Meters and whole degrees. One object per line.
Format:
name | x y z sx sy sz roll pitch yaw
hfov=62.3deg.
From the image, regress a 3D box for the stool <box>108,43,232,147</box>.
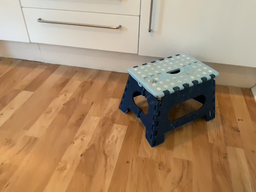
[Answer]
stool | 0.160 -0.030 0.900 0.400 0.230 0.270 -19 42 -25
